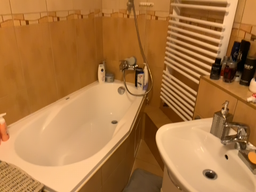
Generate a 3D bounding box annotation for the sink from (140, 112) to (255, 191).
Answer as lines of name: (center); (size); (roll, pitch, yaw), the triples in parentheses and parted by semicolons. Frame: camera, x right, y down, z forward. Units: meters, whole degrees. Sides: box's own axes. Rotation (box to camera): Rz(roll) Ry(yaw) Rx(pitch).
sink: (0.350, 0.300, 0.950); (0.420, 0.170, 0.540); (-6, 27, -16)
